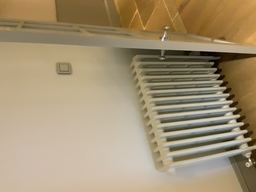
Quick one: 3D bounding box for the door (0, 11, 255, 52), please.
[{"bbox_3d":[-0.070,-0.440,1.420,0.850,2.030,0.100,-139,50,-59],"label":"door"}]
